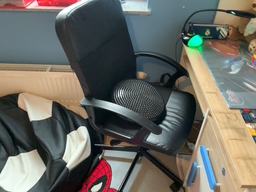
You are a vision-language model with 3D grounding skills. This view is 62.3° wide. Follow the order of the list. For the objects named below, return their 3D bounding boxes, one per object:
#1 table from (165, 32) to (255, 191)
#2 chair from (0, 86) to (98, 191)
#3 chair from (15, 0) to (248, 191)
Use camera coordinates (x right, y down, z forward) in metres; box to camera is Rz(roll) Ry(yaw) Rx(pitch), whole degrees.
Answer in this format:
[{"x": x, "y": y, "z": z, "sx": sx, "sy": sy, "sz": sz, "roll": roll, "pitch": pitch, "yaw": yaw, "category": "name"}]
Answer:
[{"x": 0.560, "y": 0.210, "z": 1.180, "sx": 0.510, "sy": 0.740, "sz": 0.990, "roll": 3, "pitch": 40, "yaw": 1, "category": "table"}, {"x": -0.690, "y": 0.310, "z": 1.310, "sx": 0.890, "sy": 0.330, "sz": 0.760, "roll": 2, "pitch": 40, "yaw": 0, "category": "chair"}, {"x": 0.060, "y": 0.050, "z": 1.150, "sx": 0.700, "sy": 0.990, "sz": 0.650, "roll": 19, "pitch": 43, "yaw": 20, "category": "chair"}]
